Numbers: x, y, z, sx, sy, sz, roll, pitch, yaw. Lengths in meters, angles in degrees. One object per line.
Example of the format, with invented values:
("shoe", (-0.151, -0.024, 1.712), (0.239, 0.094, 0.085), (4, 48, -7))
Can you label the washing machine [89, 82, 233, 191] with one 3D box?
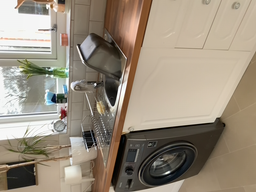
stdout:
("washing machine", (0.210, 0.330, 1.890), (0.700, 0.930, 0.610), (-119, 34, -48))

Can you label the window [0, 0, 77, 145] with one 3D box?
("window", (-1.100, -0.250, 1.520), (0.330, 1.340, 1.370), (-123, 37, -51))
